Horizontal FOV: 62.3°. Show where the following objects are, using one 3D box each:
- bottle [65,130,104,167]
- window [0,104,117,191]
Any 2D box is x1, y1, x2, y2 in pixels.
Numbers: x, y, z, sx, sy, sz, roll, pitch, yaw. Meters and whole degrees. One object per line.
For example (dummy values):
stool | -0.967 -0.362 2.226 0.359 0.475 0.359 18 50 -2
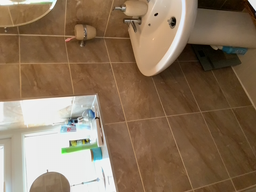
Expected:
bottle | -0.270 0.320 1.280 0.220 0.180 0.160 131 130 -60
window | -0.560 0.560 1.130 0.120 0.990 1.000 120 139 -55
